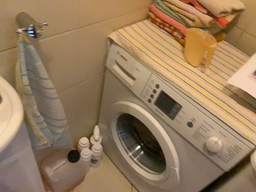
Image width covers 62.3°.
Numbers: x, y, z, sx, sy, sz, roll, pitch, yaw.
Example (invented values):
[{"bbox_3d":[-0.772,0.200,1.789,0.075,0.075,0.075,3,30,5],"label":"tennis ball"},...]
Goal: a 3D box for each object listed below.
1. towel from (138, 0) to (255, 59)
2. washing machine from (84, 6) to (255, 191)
[{"bbox_3d":[0.260,-0.340,0.840,0.300,0.180,0.280,-27,60,-32],"label":"towel"},{"bbox_3d":[0.180,0.140,1.090,0.500,0.850,0.620,-31,63,-34],"label":"washing machine"}]
